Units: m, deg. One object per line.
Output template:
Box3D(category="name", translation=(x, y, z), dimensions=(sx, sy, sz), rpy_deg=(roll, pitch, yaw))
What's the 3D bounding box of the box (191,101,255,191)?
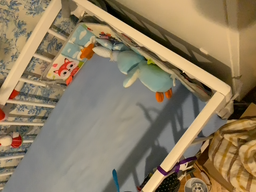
Box3D(category="box", translation=(0.530, 0.260, 0.920), dimensions=(0.330, 0.370, 0.280), rpy_deg=(-48, 65, 12))
